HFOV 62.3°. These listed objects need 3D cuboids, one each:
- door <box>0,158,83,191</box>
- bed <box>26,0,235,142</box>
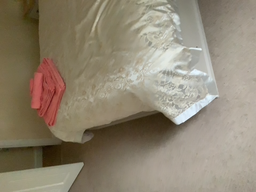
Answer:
[{"bbox_3d":[-1.460,0.970,2.020,0.740,1.980,0.080,-57,48,27],"label":"door"},{"bbox_3d":[-0.280,-0.790,1.910,1.650,0.700,2.140,-22,69,45],"label":"bed"}]
